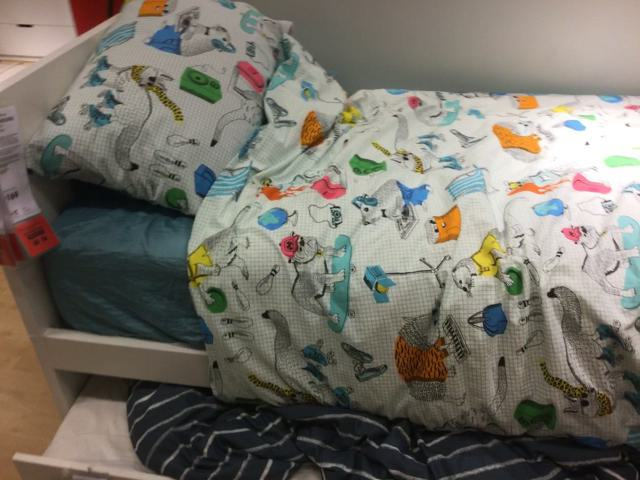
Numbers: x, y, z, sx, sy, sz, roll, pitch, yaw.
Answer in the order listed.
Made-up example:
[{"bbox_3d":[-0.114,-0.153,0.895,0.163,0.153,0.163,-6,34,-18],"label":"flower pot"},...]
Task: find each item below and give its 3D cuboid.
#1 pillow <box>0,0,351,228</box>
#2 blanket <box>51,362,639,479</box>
[{"bbox_3d":[-0.250,-0.390,1.360,0.550,0.320,0.750,3,37,9],"label":"pillow"},{"bbox_3d":[0.370,0.450,1.080,1.720,0.150,0.250,3,37,9],"label":"blanket"}]
